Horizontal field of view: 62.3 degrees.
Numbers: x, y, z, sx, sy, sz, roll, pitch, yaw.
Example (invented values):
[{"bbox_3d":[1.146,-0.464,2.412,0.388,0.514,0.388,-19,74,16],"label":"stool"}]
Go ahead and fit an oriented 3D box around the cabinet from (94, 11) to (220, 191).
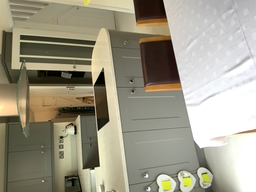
[{"bbox_3d":[0.230,0.150,2.190,0.400,0.900,2.010,137,128,-61],"label":"cabinet"}]
